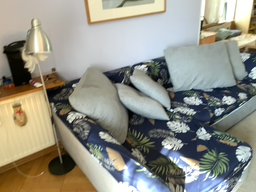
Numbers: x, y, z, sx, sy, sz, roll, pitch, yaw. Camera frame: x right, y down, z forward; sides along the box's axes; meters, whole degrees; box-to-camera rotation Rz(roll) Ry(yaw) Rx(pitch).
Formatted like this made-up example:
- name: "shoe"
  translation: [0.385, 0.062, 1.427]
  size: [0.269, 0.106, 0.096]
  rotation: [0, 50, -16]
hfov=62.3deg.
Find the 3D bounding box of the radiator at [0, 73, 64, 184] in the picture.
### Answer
- name: "radiator"
  translation: [-1.060, 0.310, 1.790]
  size: [0.860, 0.790, 0.220]
  rotation: [-21, 31, -35]
